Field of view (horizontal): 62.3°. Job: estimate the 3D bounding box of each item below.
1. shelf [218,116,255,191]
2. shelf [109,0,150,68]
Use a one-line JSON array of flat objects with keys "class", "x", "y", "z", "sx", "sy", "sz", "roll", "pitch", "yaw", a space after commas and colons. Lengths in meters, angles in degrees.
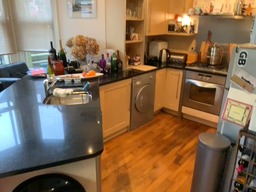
[{"class": "shelf", "x": 0.930, "y": 0.630, "z": 1.590, "sx": 0.350, "sy": 0.830, "sz": 0.340, "roll": 18, "pitch": 26, "yaw": 38}, {"class": "shelf", "x": 0.030, "y": -1.160, "z": 3.120, "sx": 0.320, "sy": 1.390, "sz": 0.540, "roll": 17, "pitch": 25, "yaw": 36}]
